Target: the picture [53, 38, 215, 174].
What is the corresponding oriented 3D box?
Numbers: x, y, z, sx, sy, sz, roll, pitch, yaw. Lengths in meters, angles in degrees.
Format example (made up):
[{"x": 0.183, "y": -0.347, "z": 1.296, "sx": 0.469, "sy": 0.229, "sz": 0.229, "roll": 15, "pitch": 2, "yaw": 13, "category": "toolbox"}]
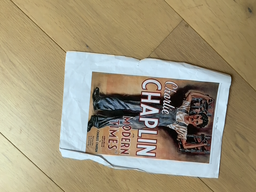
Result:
[{"x": 0.010, "y": 0.020, "z": 0.380, "sx": 0.270, "sy": 0.010, "sz": 0.220, "roll": 5, "pitch": 93, "yaw": -1, "category": "picture"}]
